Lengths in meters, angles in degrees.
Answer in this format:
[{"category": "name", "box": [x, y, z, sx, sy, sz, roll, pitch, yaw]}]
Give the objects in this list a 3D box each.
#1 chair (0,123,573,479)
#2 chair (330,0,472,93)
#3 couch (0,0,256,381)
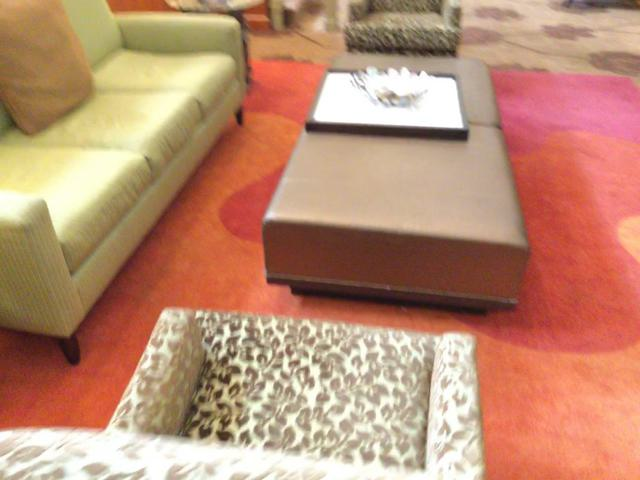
[{"category": "chair", "box": [-0.060, 0.420, 1.140, 0.760, 0.950, 0.900, 5, 37, 9]}, {"category": "chair", "box": [0.570, -1.620, 3.770, 0.800, 0.960, 0.910, 8, 37, 13]}, {"category": "couch", "box": [-1.100, -0.600, 2.500, 1.010, 0.940, 2.150, 5, 37, 9]}]
